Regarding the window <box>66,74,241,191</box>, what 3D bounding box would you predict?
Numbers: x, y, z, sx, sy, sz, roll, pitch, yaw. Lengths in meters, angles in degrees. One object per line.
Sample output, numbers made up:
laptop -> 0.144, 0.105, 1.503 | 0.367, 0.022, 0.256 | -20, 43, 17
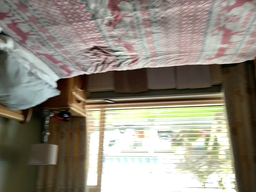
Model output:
window -> 0.210, 0.720, 2.280 | 1.780, 1.920, 0.070 | -3, 163, 9
